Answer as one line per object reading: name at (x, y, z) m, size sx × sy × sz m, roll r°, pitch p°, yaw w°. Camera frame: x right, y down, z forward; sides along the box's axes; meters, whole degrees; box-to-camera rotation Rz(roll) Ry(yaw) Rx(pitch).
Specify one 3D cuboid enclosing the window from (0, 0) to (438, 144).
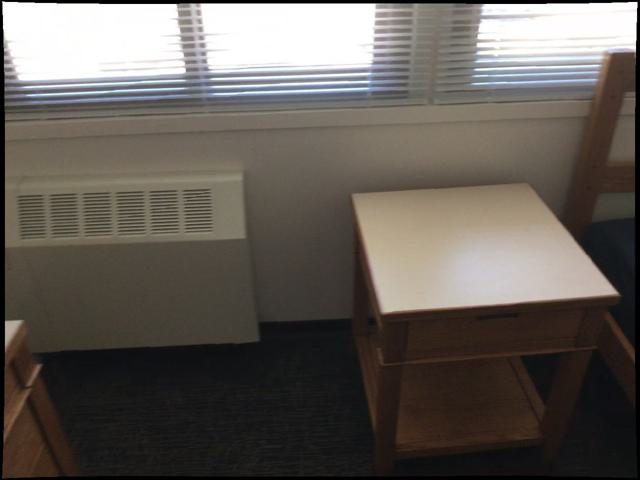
window at (-0.339, -0.842, 1.330) m, size 1.217 × 1.172 × 0.250 m, roll -3°, pitch 35°, yaw -1°

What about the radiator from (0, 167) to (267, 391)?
radiator at (-0.638, 0.140, 1.740) m, size 0.888 × 0.651 × 0.190 m, roll -3°, pitch 35°, yaw -1°

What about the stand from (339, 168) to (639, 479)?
stand at (0.369, 0.221, 1.600) m, size 0.579 × 0.591 × 0.601 m, roll -3°, pitch 35°, yaw -1°
